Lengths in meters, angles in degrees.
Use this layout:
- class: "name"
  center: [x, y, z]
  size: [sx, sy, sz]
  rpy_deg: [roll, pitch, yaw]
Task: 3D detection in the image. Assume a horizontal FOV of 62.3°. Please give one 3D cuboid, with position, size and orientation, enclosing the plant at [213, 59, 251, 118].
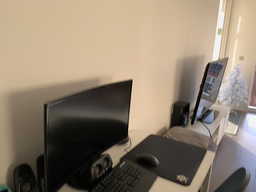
- class: "plant"
  center: [2.200, -0.190, 4.570]
  size: [0.530, 1.140, 0.590]
  rpy_deg: [8, 15, 21]

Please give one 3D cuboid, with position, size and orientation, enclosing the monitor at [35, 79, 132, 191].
- class: "monitor"
  center: [-0.150, 0.180, 1.010]
  size: [0.040, 0.440, 0.630]
  rpy_deg: [9, 16, 26]
